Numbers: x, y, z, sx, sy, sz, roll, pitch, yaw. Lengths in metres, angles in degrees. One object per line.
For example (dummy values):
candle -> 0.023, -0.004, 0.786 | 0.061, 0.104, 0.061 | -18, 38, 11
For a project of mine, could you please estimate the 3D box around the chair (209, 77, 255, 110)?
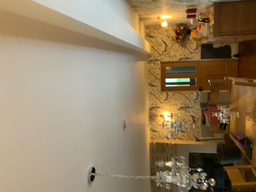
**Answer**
chair -> 1.890, -0.050, 3.400 | 0.540, 1.030, 0.460 | -37, -54, -76
